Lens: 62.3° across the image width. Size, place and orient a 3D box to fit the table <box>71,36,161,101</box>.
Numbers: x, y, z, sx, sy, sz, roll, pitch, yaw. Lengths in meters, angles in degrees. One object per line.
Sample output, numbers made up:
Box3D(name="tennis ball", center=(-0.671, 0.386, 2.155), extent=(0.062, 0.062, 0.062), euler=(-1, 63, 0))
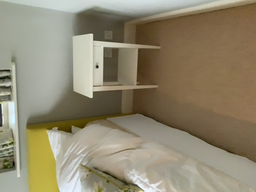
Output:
Box3D(name="table", center=(-0.110, -0.250, 1.890), extent=(0.390, 0.680, 0.470), euler=(17, 108, 54))
